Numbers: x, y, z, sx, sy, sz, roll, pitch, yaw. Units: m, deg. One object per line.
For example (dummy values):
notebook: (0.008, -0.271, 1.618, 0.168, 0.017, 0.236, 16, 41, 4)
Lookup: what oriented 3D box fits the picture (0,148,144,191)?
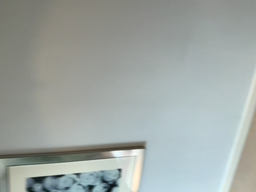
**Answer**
picture: (-0.400, 0.820, 1.500, 0.020, 0.930, 0.970, -132, 47, -62)
